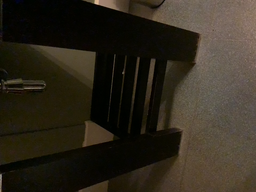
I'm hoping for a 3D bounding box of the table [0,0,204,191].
[{"bbox_3d":[-0.150,-0.020,0.770,0.420,0.710,0.530,20,108,46],"label":"table"}]
